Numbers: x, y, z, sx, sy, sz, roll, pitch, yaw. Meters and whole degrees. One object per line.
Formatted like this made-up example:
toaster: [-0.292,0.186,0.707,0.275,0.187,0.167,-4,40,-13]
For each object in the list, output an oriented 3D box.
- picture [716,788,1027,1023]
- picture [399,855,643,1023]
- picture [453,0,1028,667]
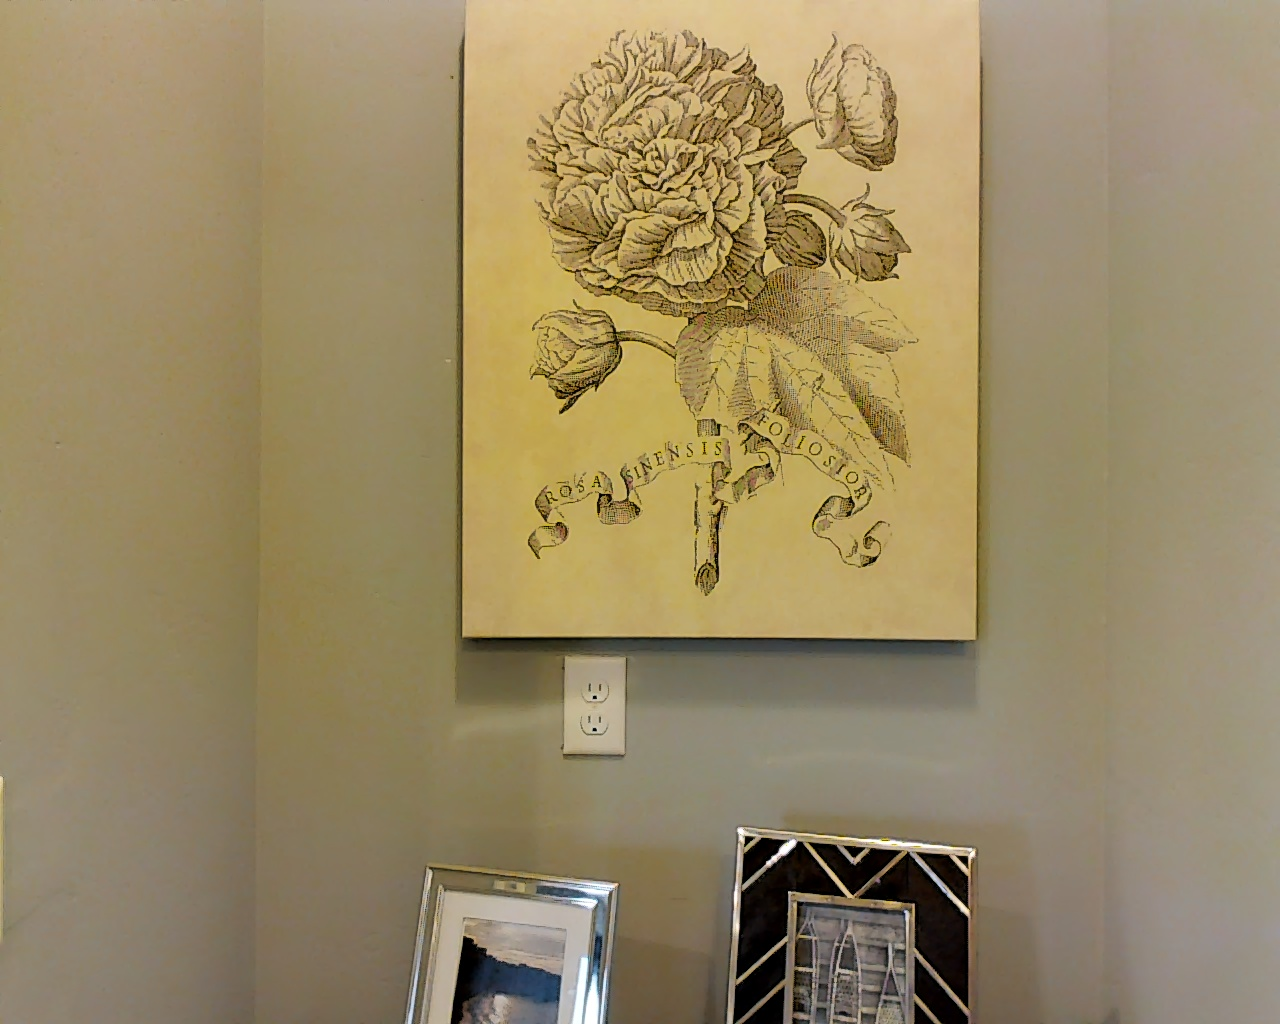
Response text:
picture: [0.240,0.520,1.190,0.290,0.320,0.210,4,21,9]
picture: [-0.120,0.510,1.120,0.230,0.250,0.090,4,15,13]
picture: [0.120,-0.230,1.280,0.670,0.820,0.070,0,-1,-2]
